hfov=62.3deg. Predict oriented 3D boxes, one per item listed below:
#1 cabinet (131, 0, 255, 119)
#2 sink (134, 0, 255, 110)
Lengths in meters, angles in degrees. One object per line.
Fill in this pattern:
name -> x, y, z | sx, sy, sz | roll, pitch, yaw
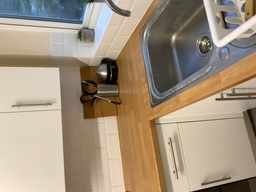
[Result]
cabinet -> 0.640, -0.300, 1.080 | 0.920, 0.910, 0.600 | 140, 124, -63
sink -> 0.280, -0.250, 1.050 | 0.610, 0.220, 0.500 | 140, 124, -63
